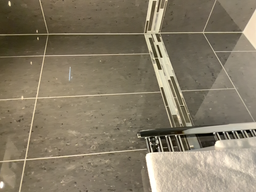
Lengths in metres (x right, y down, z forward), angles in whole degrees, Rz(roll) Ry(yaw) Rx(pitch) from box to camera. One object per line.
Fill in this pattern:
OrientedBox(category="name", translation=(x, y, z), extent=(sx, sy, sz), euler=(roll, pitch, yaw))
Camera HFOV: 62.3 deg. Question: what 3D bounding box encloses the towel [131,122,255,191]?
OrientedBox(category="towel", translation=(0.430, 0.270, 0.750), extent=(0.130, 0.790, 0.330), euler=(96, 168, -48))
